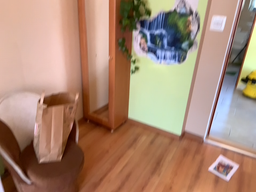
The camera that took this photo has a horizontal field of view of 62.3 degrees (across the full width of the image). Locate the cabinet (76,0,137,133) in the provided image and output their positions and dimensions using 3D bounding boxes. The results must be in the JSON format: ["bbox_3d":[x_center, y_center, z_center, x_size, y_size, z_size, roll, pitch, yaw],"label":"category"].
[{"bbox_3d":[-0.260,-0.520,2.490,0.520,1.890,0.370,17,29,26],"label":"cabinet"}]
